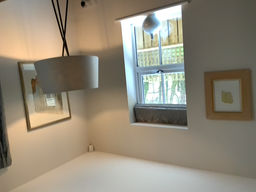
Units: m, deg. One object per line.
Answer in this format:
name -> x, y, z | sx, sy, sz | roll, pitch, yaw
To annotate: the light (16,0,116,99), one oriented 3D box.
light -> -0.630, -0.720, 2.140 | 0.760, 1.440, 0.500 | 0, -173, 30
